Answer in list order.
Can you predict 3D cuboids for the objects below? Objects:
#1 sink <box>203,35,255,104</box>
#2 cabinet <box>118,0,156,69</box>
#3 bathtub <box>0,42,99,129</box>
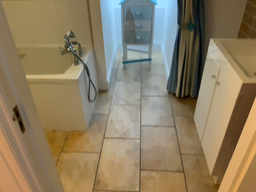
[{"bbox_3d":[0.760,-0.190,1.270,0.450,0.140,0.600,1,36,3],"label":"sink"},{"bbox_3d":[0.120,-0.880,2.750,0.430,1.000,0.350,2,36,4],"label":"cabinet"},{"bbox_3d":[-1.200,-0.140,2.090,1.670,0.540,0.680,1,36,3],"label":"bathtub"}]
